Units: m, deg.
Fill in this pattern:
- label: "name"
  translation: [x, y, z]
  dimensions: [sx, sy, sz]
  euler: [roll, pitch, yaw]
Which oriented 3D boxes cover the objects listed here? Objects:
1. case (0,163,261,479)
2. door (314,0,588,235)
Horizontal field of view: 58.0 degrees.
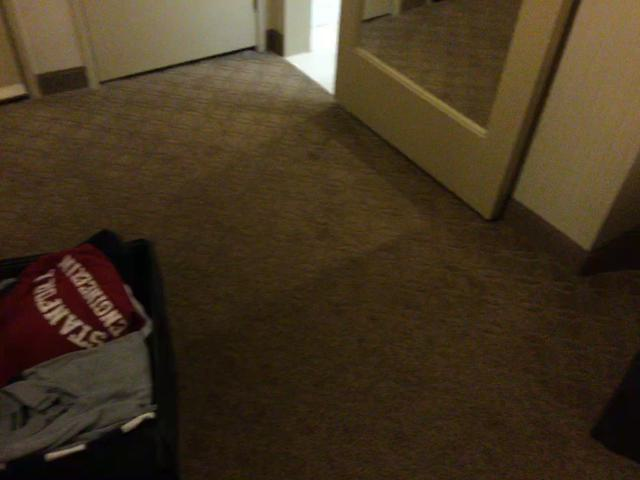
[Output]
- label: "case"
  translation: [-0.740, 0.280, 1.240]
  dimensions: [0.930, 0.250, 0.850]
  euler: [-21, 48, -24]
- label: "door"
  translation: [0.330, -0.840, 1.720]
  dimensions: [0.150, 1.360, 1.010]
  euler: [-21, 48, -24]
